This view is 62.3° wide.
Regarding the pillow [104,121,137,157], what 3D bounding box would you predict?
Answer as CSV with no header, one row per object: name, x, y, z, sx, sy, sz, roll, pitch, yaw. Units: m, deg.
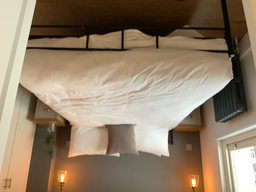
pillow,-0.080,0.550,2.700,0.390,0.400,0.190,-1,147,4

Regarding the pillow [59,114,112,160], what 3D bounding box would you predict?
pillow,-0.550,0.550,2.870,0.590,0.530,0.220,-5,141,8

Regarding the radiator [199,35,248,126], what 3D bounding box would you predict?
radiator,0.940,-0.120,2.190,0.120,0.740,0.630,2,161,-2
